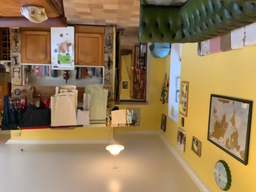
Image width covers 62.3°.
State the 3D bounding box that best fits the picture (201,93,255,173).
[{"bbox_3d":[1.150,0.350,2.520,0.080,0.690,1.000,1,-174,-6],"label":"picture"}]

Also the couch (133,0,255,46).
[{"bbox_3d":[0.650,-0.980,1.990,0.940,0.740,1.850,1,-174,-6],"label":"couch"}]

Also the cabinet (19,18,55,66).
[{"bbox_3d":[-2.100,-1.230,4.960,0.660,1.000,0.460,1,-174,-5],"label":"cabinet"}]
